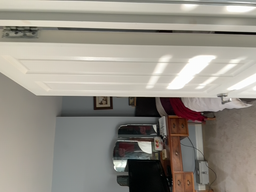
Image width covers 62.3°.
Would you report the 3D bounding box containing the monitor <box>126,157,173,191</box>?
[{"bbox_3d":[0.270,1.140,3.100,0.840,0.570,0.060,-100,11,-74],"label":"monitor"}]
